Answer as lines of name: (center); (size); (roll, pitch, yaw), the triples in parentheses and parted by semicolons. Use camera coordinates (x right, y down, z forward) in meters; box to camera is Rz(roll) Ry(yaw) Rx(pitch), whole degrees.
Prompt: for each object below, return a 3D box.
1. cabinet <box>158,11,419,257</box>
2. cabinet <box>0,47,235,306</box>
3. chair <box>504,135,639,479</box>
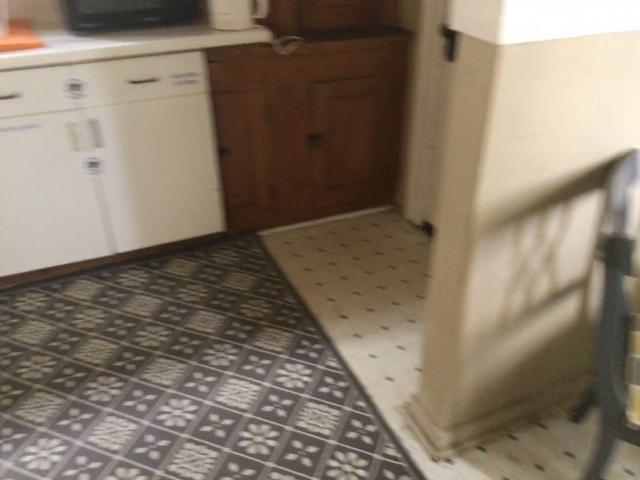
cabinet: (-0.160, -0.540, 2.680); (0.930, 0.850, 0.650); (-13, 33, -24)
cabinet: (-1.610, -0.060, 1.810); (2.730, 0.850, 0.130); (-13, 33, -24)
chair: (0.850, 0.270, 1.380); (0.600, 0.820, 0.530); (14, 32, 20)
